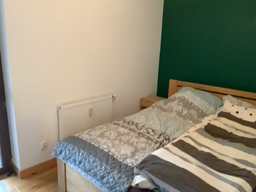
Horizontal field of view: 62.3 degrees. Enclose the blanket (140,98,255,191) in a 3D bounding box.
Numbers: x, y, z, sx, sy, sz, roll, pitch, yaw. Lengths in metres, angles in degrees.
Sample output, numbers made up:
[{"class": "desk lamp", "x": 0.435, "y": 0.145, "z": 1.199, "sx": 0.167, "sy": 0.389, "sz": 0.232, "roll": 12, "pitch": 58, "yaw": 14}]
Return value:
[{"class": "blanket", "x": 0.860, "y": 0.320, "z": 1.960, "sx": 0.680, "sy": 0.220, "sz": 1.510, "roll": 16, "pitch": 19, "yaw": 40}]
